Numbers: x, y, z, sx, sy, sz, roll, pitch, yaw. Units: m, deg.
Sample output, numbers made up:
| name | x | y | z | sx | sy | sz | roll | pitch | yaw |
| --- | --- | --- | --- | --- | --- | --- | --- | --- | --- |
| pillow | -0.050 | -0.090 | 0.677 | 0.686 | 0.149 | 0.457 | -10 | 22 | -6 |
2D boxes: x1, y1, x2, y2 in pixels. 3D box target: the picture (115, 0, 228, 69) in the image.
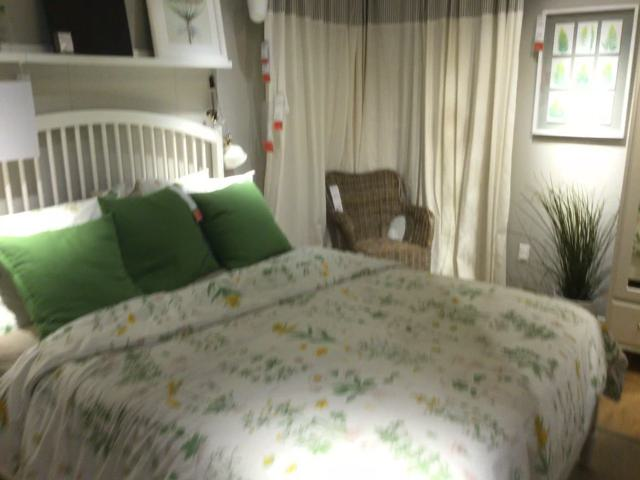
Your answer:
| name | x | y | z | sx | sy | sz | roll | pitch | yaw |
| --- | --- | --- | --- | --- | --- | --- | --- | --- | --- |
| picture | -0.700 | -1.130 | 2.760 | 0.110 | 0.590 | 0.560 | 9 | 18 | 36 |

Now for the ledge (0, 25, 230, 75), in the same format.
| name | x | y | z | sx | sy | sz | roll | pitch | yaw |
| --- | --- | --- | --- | --- | --- | --- | --- | --- | --- |
| ledge | -1.010 | -0.780 | 2.410 | 0.140 | 0.160 | 1.600 | 9 | 18 | 36 |

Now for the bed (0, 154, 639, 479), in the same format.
| name | x | y | z | sx | sy | sz | roll | pitch | yaw |
| --- | --- | --- | --- | --- | --- | --- | --- | --- | --- |
| bed | -0.160 | 0.400 | 2.090 | 2.190 | 1.150 | 1.740 | 9 | 18 | 36 |
